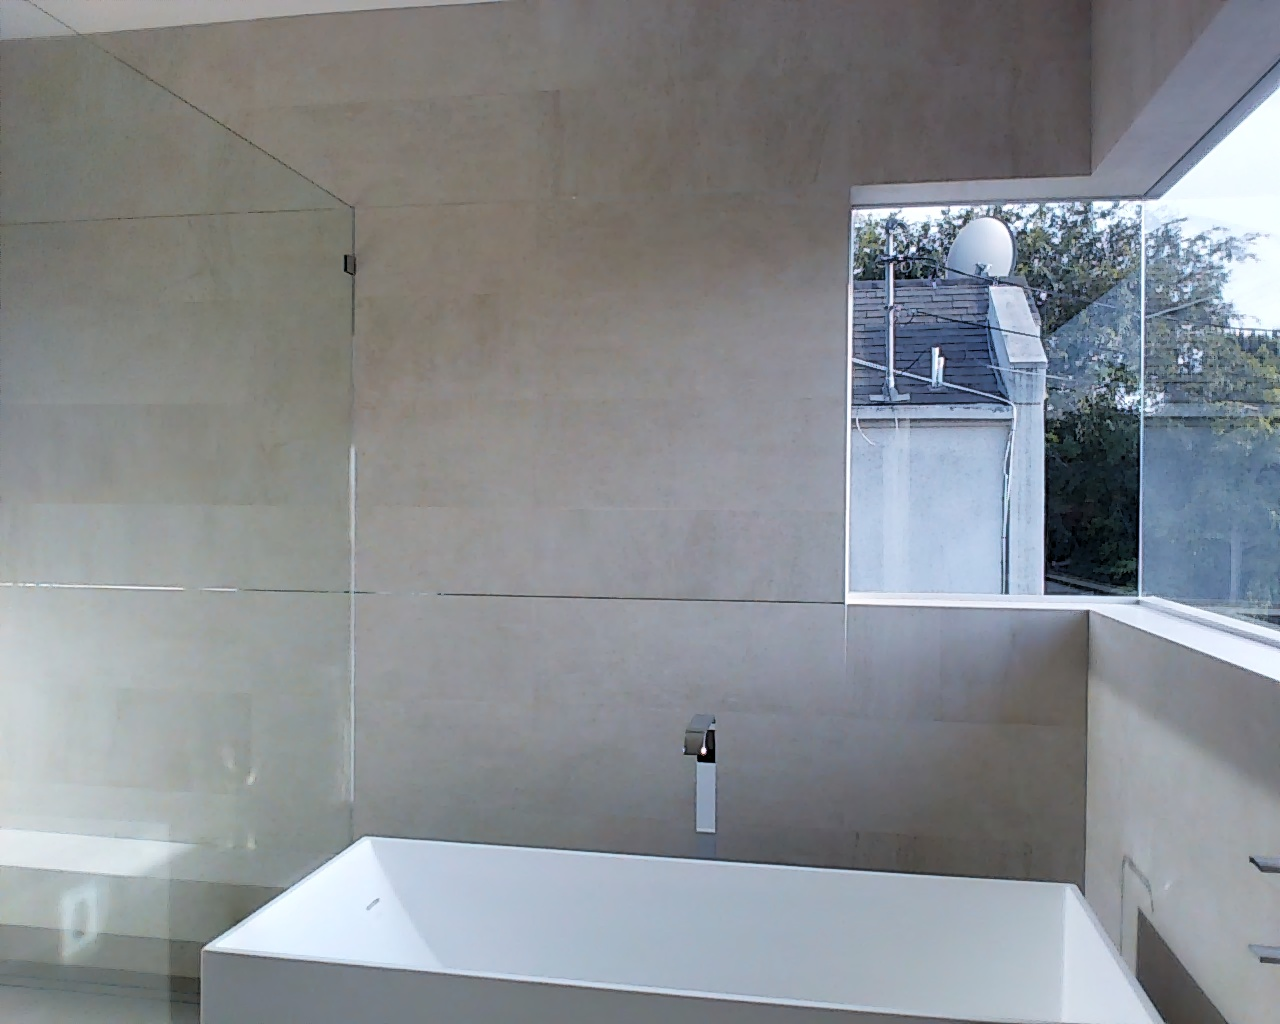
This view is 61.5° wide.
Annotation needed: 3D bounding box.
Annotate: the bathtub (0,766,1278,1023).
[{"bbox_3d":[-0.020,1.110,2.490,2.309,0.630,1.220,1,0,11],"label":"bathtub"}]
